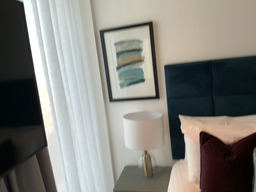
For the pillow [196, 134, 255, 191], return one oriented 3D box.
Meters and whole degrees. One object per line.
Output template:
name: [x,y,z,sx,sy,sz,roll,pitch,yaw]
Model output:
pillow: [0.650,0.440,1.290,0.420,0.390,0.160,-3,1,16]
